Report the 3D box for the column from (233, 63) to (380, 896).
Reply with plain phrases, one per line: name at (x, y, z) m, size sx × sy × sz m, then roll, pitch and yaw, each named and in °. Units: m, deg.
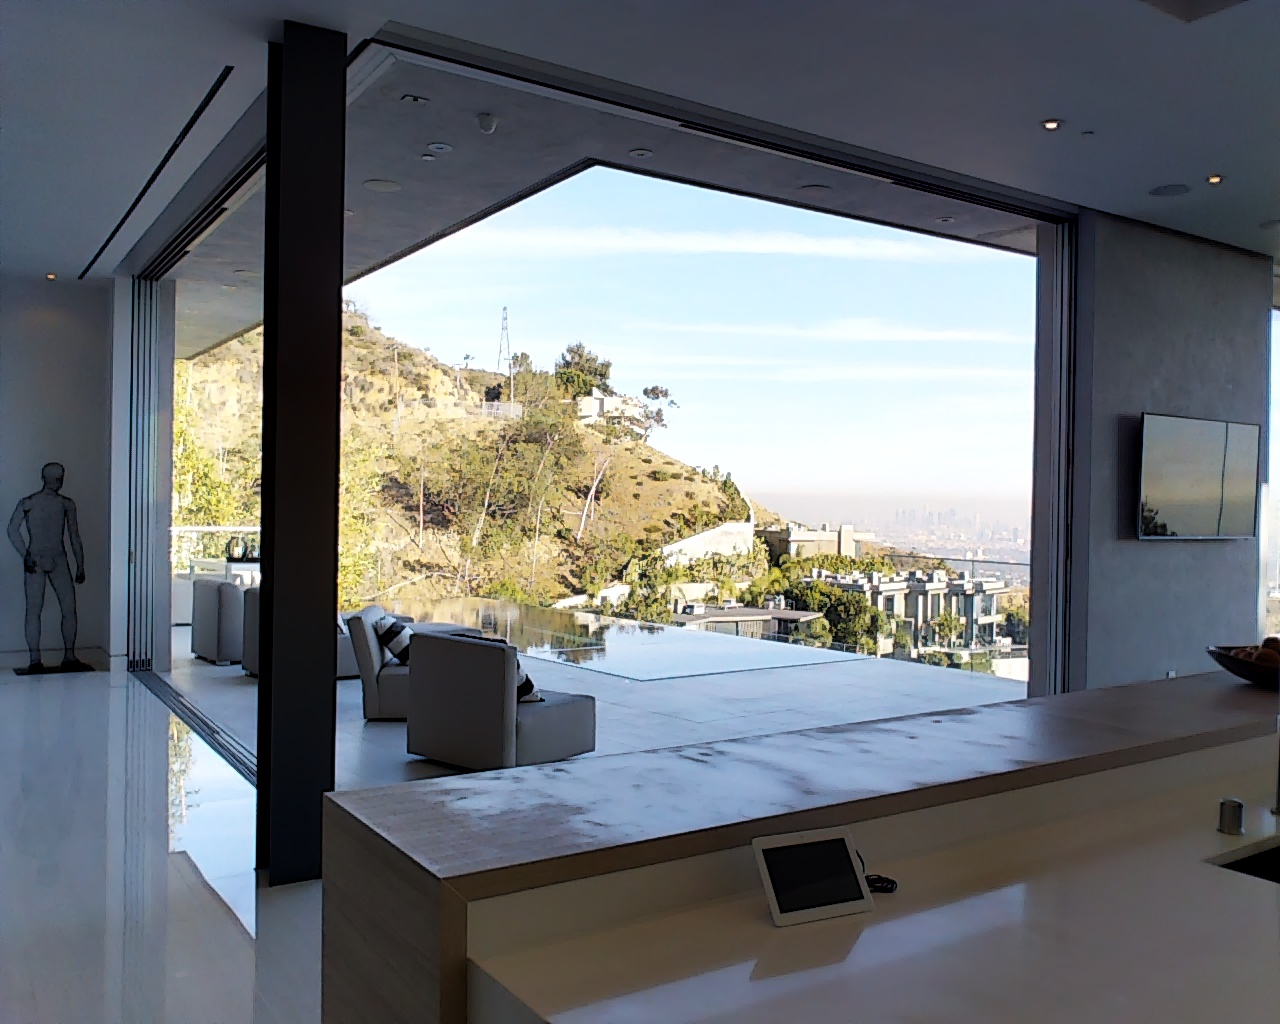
column at (-1.380, -0.120, 4.440) m, size 0.440 × 3.200 × 0.430 m, roll 1°, pitch 1°, yaw -33°
